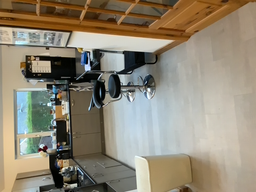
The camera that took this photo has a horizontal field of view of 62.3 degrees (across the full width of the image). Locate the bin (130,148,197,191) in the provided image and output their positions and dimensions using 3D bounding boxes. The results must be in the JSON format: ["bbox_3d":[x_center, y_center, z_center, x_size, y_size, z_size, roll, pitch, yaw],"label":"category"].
[{"bbox_3d":[0.400,0.870,2.440,0.340,0.650,0.430,164,104,-65],"label":"bin"}]

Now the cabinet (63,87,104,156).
[{"bbox_3d":[-1.200,0.640,5.640,0.640,0.860,1.670,166,101,-65],"label":"cabinet"}]
